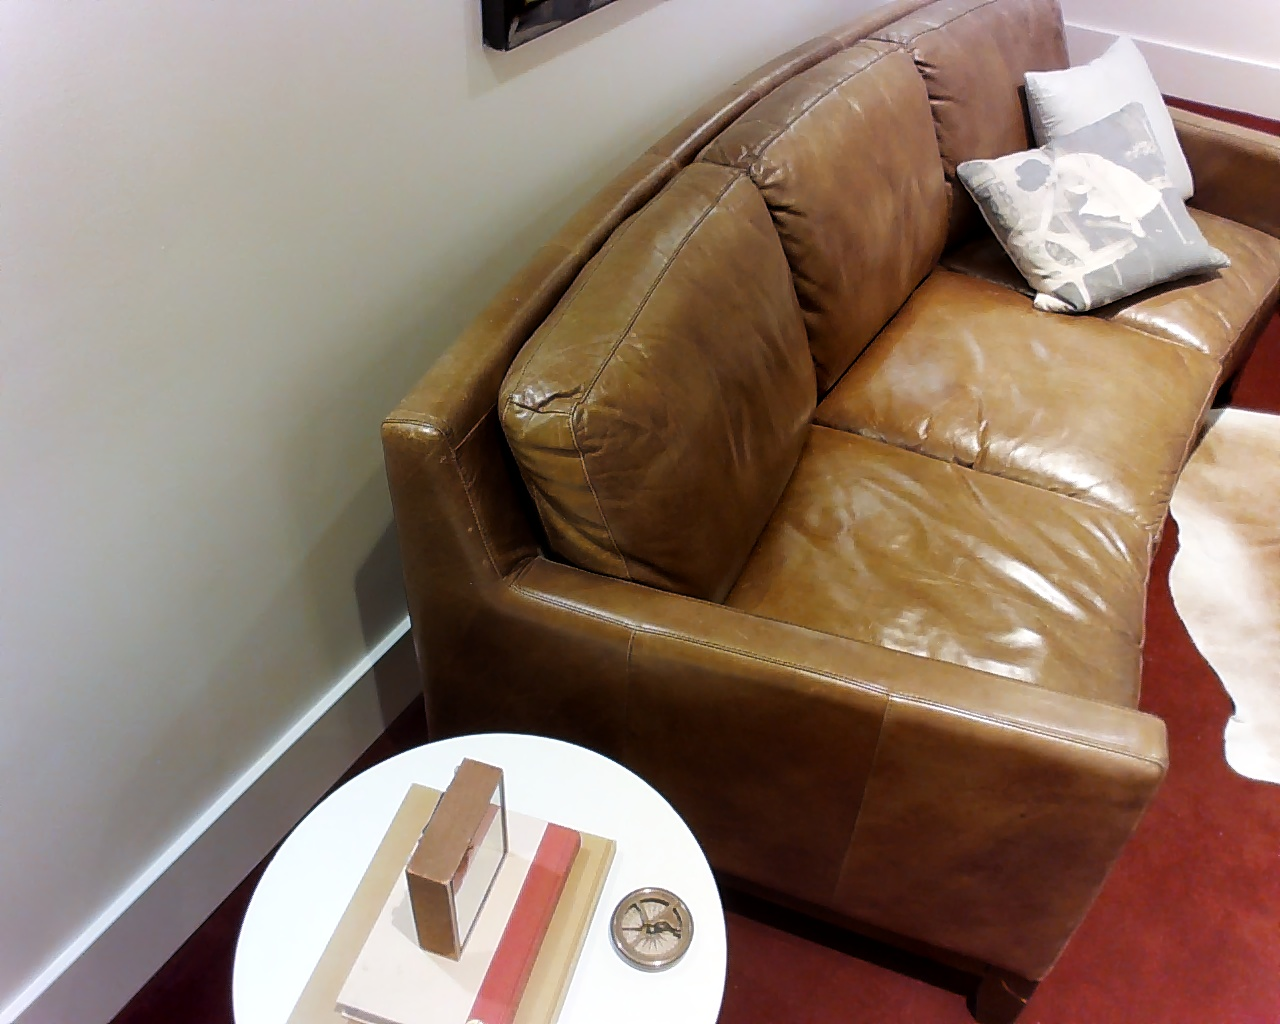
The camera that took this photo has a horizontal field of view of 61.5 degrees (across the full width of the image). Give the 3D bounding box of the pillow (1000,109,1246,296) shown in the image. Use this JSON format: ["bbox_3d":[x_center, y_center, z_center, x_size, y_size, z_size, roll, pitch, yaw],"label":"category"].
[{"bbox_3d":[0.950,-0.610,2.180,0.430,0.100,0.370,-33,0,22],"label":"pillow"}]
